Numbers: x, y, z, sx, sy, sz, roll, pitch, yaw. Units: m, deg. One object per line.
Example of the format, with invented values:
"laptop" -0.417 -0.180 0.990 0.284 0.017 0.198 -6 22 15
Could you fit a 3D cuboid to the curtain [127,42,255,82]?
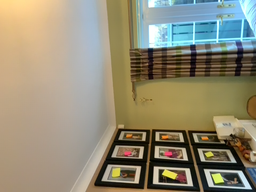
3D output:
"curtain" 1.030 -0.420 2.600 0.190 2.060 0.420 -58 -34 -74
